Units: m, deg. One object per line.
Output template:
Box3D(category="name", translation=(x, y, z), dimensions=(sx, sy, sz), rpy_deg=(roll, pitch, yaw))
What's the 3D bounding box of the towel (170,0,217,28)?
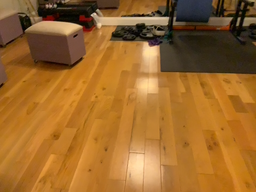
Box3D(category="towel", translation=(1.150, -1.650, 3.710), dimensions=(0.710, 0.830, 0.230), rpy_deg=(4, 34, 6))
